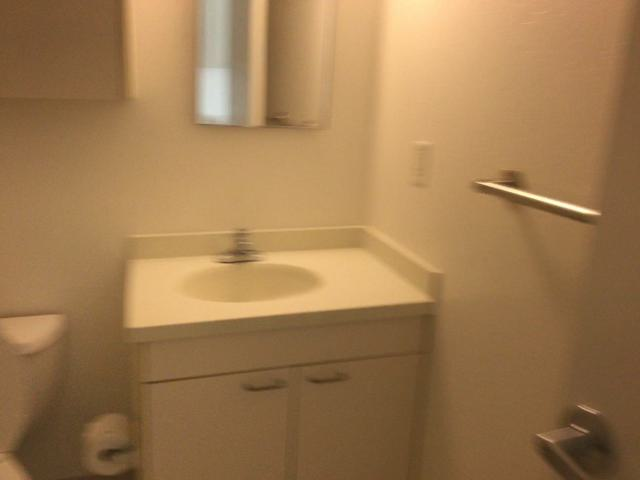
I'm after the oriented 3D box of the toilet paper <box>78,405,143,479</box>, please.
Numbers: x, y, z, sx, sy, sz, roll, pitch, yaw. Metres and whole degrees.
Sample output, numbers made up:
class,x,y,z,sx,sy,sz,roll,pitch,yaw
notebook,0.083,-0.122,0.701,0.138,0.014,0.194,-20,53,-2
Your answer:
class,x,y,z,sx,sy,sz,roll,pitch,yaw
toilet paper,-0.540,0.540,1.500,0.140,0.150,0.140,-4,14,-17
